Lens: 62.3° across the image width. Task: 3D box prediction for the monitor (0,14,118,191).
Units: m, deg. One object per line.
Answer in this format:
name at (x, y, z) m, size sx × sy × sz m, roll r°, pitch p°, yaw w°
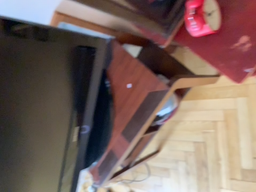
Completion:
monitor at (-0.290, 0.160, 0.790) m, size 0.030 × 0.490 × 0.800 m, roll 23°, pitch 107°, yaw 34°
